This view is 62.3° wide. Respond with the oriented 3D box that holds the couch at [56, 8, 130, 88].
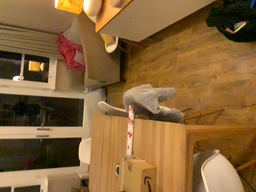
[{"bbox_3d":[-0.670,-0.720,3.770,1.200,0.880,0.990,-3,82,61],"label":"couch"}]
